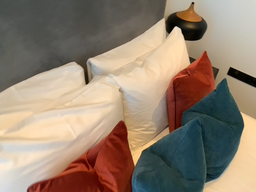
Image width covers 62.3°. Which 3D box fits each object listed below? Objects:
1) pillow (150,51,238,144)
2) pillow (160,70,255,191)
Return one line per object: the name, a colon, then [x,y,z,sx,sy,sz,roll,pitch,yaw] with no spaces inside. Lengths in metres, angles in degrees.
pillow: [0.350,0.000,1.140,0.150,0.330,0.430,40,51,21]
pillow: [0.390,0.160,0.950,0.240,0.370,0.360,39,51,23]
